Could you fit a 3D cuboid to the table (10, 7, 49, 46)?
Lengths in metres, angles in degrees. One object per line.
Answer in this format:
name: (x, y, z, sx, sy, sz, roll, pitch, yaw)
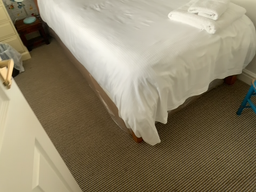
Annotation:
table: (-1.140, -0.810, 2.470, 0.260, 0.270, 0.330, -27, 49, -20)
